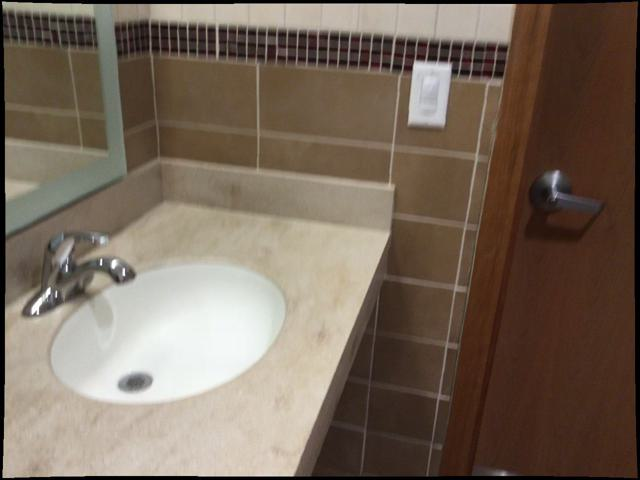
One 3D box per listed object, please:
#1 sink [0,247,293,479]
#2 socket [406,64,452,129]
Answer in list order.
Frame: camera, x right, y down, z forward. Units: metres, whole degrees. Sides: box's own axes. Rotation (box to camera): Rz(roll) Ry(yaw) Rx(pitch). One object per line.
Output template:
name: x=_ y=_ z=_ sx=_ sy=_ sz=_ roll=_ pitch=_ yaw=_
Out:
sink: x=-0.260 y=0.200 z=0.990 sx=0.310 sy=0.180 sz=0.430 roll=8 pitch=25 yaw=13
socket: x=0.220 y=-0.290 z=1.170 sx=0.080 sy=0.120 sz=0.020 roll=8 pitch=25 yaw=13
